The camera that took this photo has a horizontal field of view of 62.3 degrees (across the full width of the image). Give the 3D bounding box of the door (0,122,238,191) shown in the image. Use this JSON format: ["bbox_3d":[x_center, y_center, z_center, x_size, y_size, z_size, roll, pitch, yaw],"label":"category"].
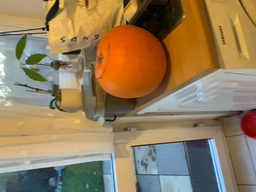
[{"bbox_3d":[-0.140,0.580,1.070,0.050,1.990,0.800,-33,60,59],"label":"door"}]
